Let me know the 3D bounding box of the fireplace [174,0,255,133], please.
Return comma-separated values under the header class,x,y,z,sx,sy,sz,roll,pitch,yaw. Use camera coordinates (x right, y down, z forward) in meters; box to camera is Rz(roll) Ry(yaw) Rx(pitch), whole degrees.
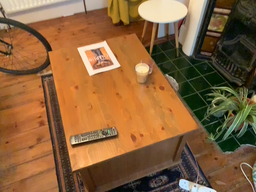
class,x,y,z,sx,sy,sz,roll,pitch,yaw
fireplace,0.910,-0.510,1.640,0.370,1.010,1.190,-19,53,-15
